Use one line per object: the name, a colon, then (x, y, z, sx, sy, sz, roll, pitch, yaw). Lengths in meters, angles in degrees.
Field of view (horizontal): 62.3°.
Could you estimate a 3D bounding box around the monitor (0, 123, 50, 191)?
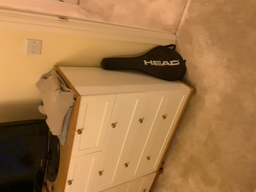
monitor: (-0.740, 0.470, 1.340, 0.050, 0.430, 0.630, 45, 130, 42)
